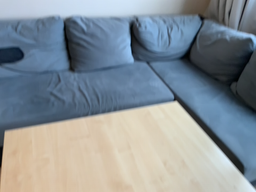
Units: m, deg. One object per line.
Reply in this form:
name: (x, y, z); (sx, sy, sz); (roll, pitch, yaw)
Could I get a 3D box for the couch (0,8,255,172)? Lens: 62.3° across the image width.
couch: (-0.180, -0.220, 1.850); (2.400, 0.780, 1.000); (-9, 39, -20)

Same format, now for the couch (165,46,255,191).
couch: (0.860, 0.150, 1.520); (0.810, 0.770, 0.670); (-9, 39, -20)
